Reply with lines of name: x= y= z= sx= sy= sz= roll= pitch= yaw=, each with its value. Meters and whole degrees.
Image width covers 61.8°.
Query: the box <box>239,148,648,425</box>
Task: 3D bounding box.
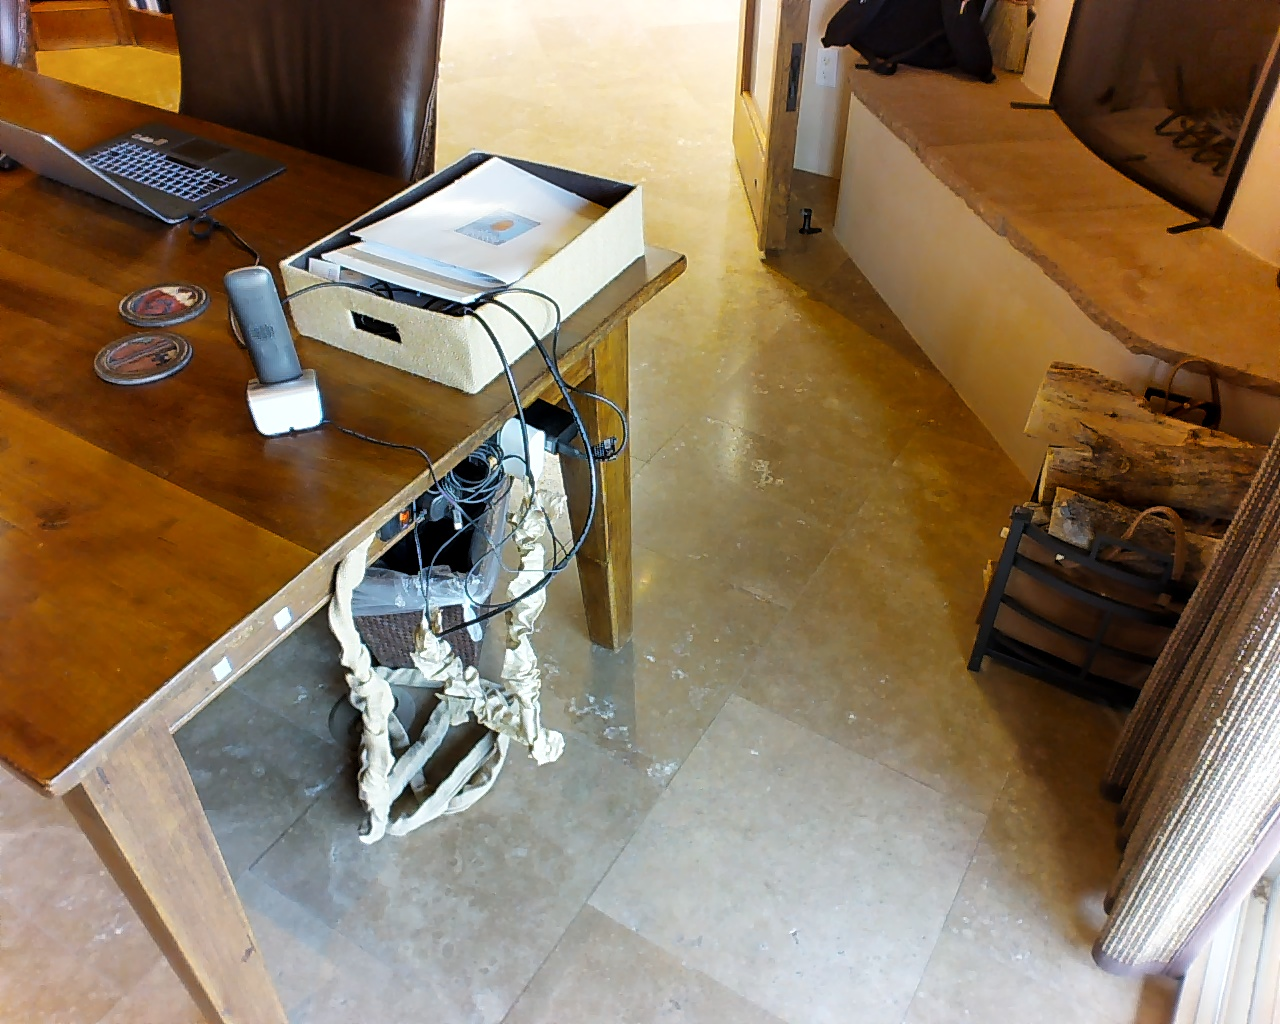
box: x=-0.230 y=-0.310 z=1.370 sx=0.310 sy=0.110 sz=0.420 roll=21 pitch=45 yaw=23

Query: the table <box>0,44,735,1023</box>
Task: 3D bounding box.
table: x=-1.370 y=-0.250 z=1.920 sx=2.840 sy=0.780 sz=1.100 roll=21 pitch=45 yaw=23

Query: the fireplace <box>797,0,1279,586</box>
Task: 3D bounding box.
fireplace: x=1.030 y=-0.930 z=2.260 sx=0.800 sy=1.380 sz=1.550 roll=-8 pitch=41 yaw=-9
